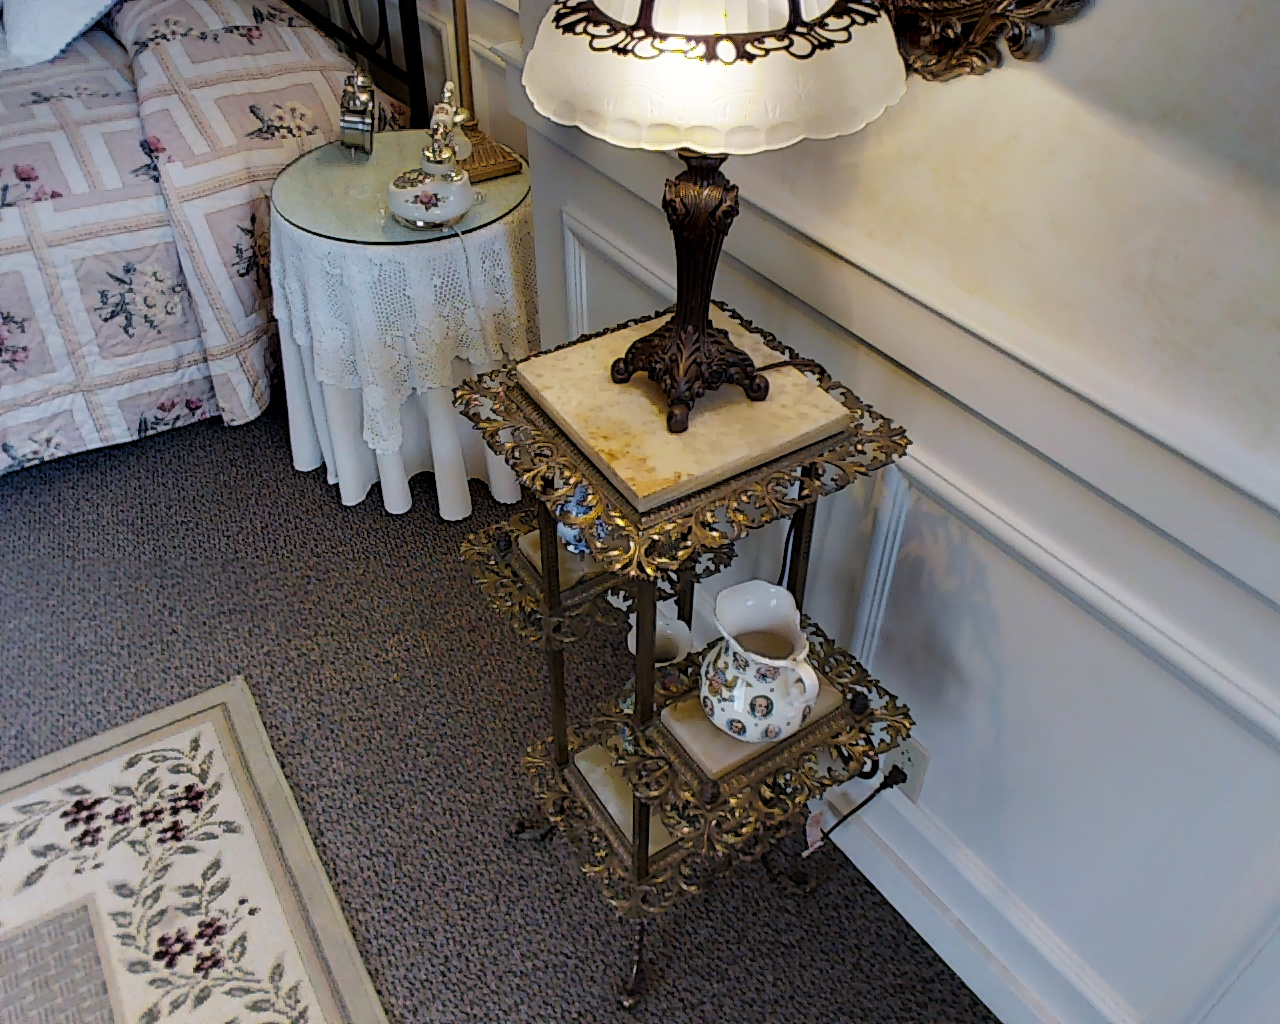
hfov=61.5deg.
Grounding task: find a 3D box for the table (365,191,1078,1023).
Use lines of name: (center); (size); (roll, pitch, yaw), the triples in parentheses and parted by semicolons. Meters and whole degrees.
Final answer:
table: (0.050, 0.190, 1.420); (0.430, 0.940, 0.640); (-25, 47, -25)
